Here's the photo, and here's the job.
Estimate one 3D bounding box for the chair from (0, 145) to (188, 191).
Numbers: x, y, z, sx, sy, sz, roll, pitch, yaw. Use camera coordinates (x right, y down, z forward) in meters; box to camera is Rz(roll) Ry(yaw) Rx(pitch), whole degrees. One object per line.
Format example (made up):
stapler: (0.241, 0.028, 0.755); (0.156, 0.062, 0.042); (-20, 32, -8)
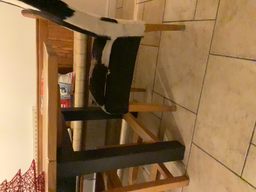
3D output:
chair: (-0.240, 0.630, 1.280); (0.450, 1.070, 0.380); (-147, 60, -62)
